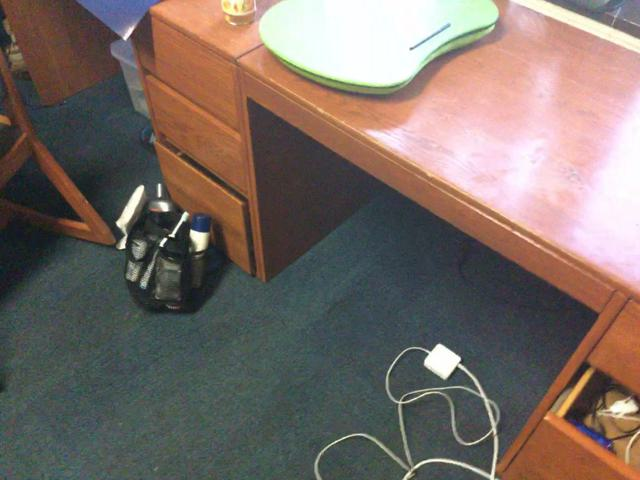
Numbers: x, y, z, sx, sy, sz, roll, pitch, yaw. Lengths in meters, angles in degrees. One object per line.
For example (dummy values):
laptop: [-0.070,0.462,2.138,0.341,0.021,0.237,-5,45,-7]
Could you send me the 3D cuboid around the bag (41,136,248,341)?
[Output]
bag: [-0.500,-0.020,1.670,0.540,0.250,0.270,36,58,26]
